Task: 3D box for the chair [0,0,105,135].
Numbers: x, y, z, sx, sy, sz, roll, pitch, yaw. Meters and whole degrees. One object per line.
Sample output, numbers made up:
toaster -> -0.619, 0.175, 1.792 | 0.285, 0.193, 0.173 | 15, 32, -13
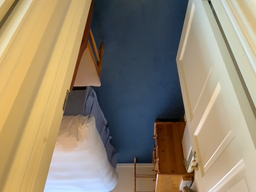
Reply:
chair -> -0.460, -0.280, 1.450 | 0.460, 0.910, 0.580 | -1, 142, 2
